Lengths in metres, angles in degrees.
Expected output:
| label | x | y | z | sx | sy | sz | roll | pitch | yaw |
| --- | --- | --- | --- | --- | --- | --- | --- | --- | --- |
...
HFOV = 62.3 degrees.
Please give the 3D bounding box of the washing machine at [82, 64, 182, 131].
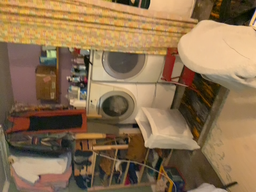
| label | x | y | z | sx | sy | sz | roll | pitch | yaw |
| --- | --- | --- | --- | --- | --- | --- | --- | --- | --- |
| washing machine | 0.000 | 0.030 | 3.360 | 0.670 | 1.350 | 0.770 | -113 | 29 | -55 |
